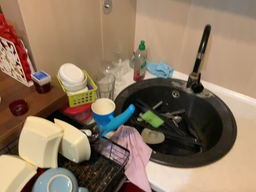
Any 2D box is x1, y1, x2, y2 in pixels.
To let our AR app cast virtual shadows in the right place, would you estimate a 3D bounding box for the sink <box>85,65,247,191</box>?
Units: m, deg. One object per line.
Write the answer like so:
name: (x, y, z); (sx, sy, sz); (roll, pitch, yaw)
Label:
sink: (0.180, 0.130, 0.940); (0.490, 0.180, 0.520); (25, 45, 24)
